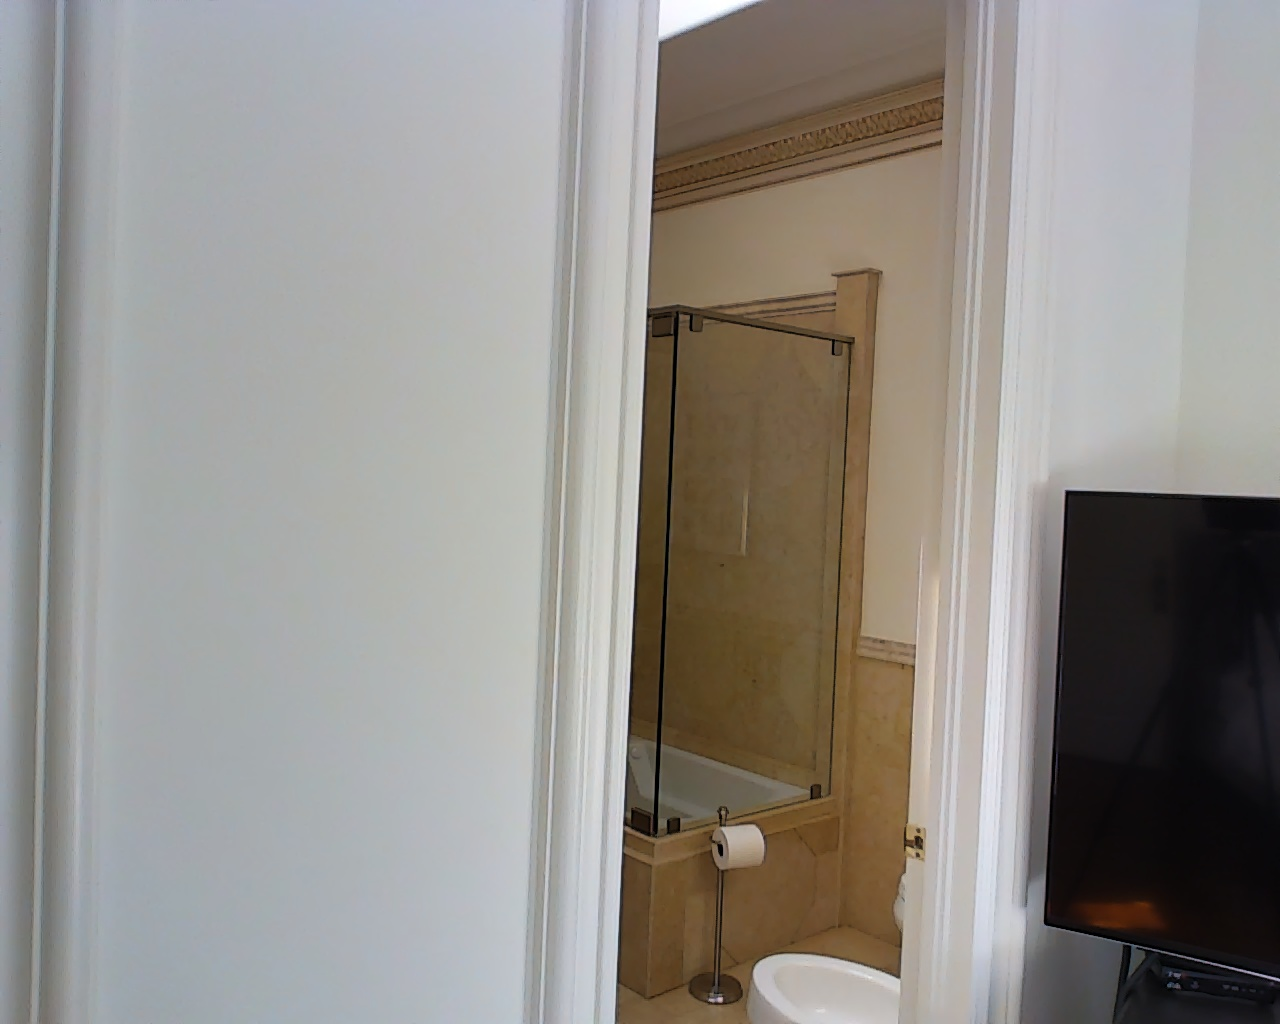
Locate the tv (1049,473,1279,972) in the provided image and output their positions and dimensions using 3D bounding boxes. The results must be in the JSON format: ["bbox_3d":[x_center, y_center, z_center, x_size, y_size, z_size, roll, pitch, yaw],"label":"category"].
[{"bbox_3d":[1.040,0.320,1.600,0.760,0.730,0.110,3,2,29],"label":"tv"}]
